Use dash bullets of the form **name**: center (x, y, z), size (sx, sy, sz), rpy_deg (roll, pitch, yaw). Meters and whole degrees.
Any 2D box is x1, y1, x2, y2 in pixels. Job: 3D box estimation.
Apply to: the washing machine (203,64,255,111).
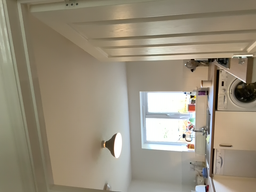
- **washing machine**: center (1.660, -0.150, 3.200), size (0.610, 0.900, 0.580), rpy_deg (-48, -43, -71)
